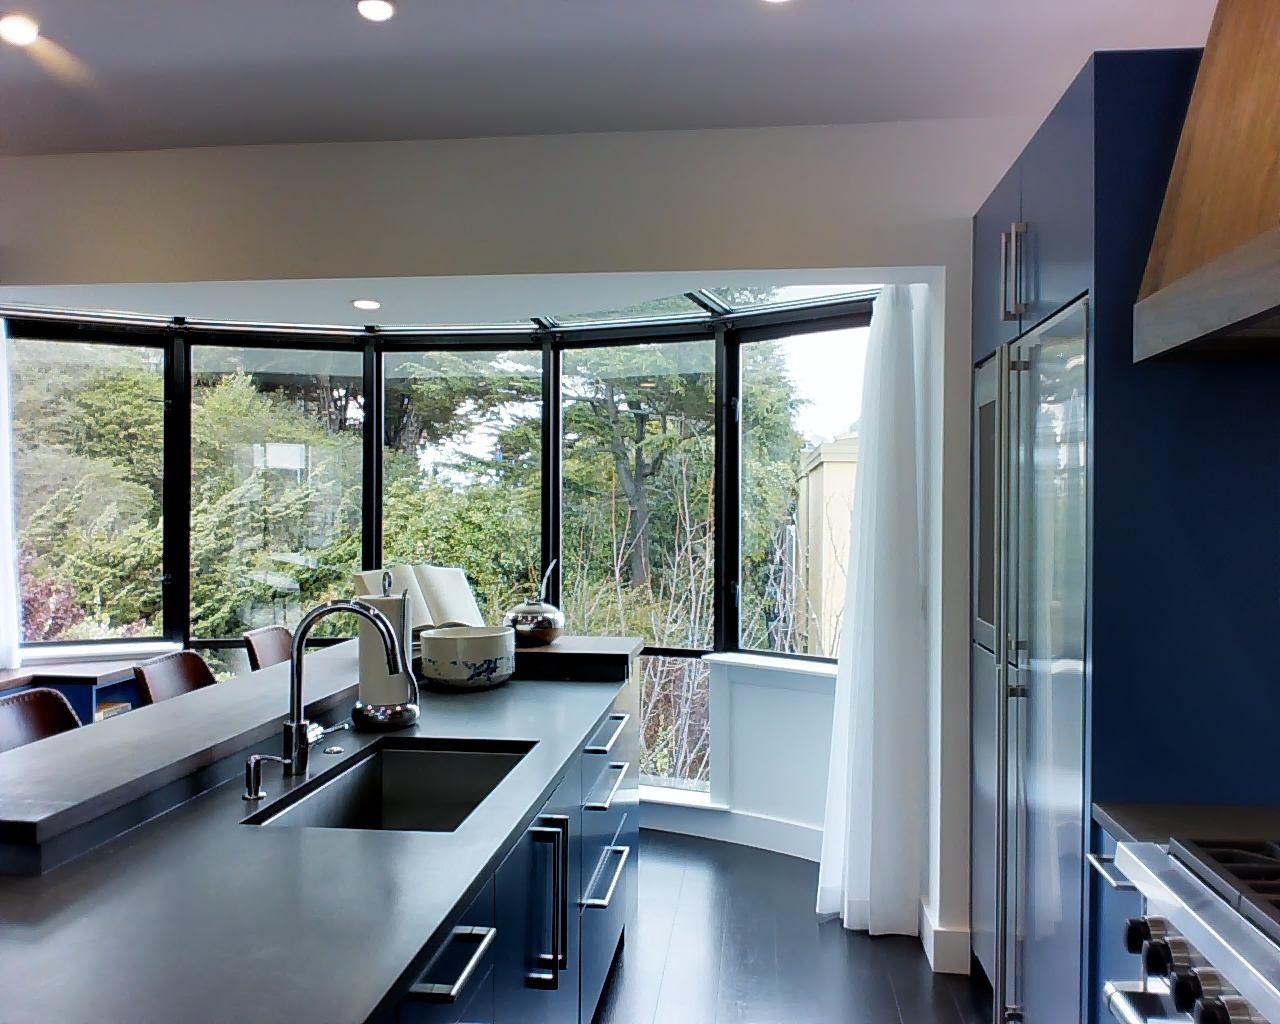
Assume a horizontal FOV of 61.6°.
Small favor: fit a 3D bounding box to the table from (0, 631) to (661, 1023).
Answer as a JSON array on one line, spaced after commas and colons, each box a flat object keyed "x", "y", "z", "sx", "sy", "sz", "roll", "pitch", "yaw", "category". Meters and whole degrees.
[{"x": -0.670, "y": 1.000, "z": 2.560, "sx": 1.100, "sy": 1.040, "sz": 3.300, "roll": 1, "pitch": 0, "yaw": 7, "category": "table"}]

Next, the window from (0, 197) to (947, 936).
[{"x": -1.020, "y": 0.170, "z": 4.780, "sx": 4.390, "sy": 2.620, "sz": 1.440, "roll": 1, "pitch": 0, "yaw": 7, "category": "window"}]

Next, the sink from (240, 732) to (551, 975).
[{"x": -0.490, "y": 0.710, "z": 2.380, "sx": 0.430, "sy": 0.270, "sz": 0.780, "roll": 1, "pitch": 0, "yaw": 7, "category": "sink"}]
